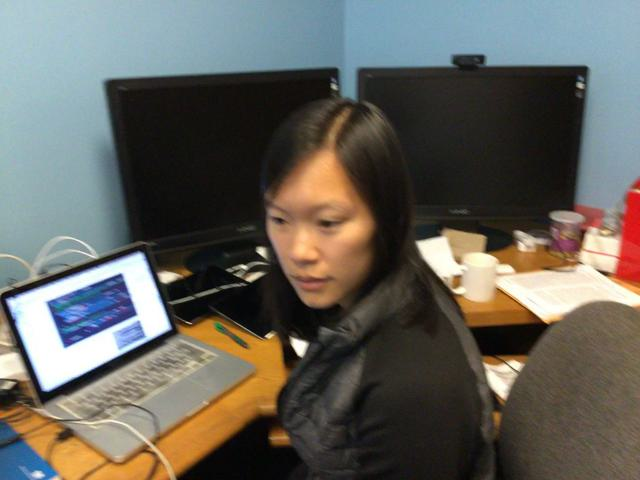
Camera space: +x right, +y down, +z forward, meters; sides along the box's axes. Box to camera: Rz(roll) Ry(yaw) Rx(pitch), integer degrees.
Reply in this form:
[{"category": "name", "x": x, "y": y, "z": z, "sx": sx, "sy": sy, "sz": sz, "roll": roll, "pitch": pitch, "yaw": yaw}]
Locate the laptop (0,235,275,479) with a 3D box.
[{"category": "laptop", "x": -0.360, "y": 0.180, "z": 1.050, "sx": 0.350, "sy": 0.220, "sz": 0.430, "roll": 14, "pitch": 23, "yaw": 36}]
